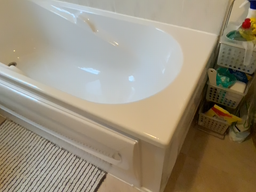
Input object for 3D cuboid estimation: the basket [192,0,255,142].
[{"bbox_3d":[0.520,-0.080,1.070,0.200,0.780,0.190,21,53,21],"label":"basket"}]
